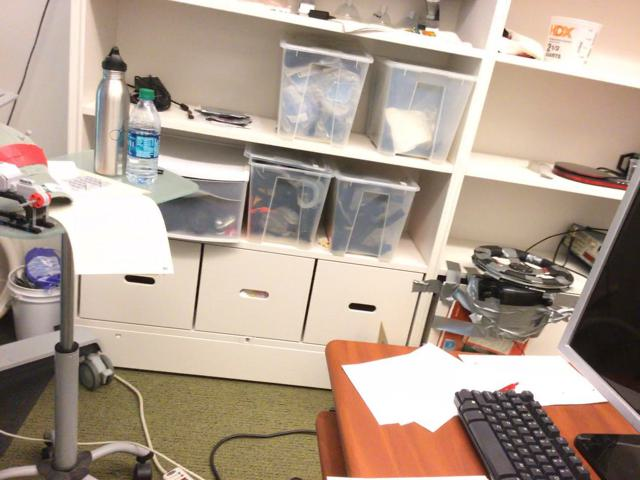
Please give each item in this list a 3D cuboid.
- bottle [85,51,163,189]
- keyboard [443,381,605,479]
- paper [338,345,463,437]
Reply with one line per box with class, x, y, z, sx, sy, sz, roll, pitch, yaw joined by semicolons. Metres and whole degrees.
bottle;-0.420;-0.260;1.250;0.130;0.270;0.110;5;19;-4
keyboard;0.290;0.310;0.720;0.140;0.020;0.440;4;19;-8
paper;0.120;0.230;0.910;0.110;0.020;0.200;-2;21;-23
